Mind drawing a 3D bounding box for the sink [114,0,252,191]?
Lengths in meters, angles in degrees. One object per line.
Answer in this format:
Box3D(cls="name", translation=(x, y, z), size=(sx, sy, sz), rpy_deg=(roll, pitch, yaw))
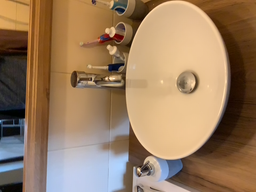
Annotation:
Box3D(cls="sink", translation=(0.130, -0.020, 0.620), size=(0.360, 0.130, 0.430), rpy_deg=(4, 91, 50))
